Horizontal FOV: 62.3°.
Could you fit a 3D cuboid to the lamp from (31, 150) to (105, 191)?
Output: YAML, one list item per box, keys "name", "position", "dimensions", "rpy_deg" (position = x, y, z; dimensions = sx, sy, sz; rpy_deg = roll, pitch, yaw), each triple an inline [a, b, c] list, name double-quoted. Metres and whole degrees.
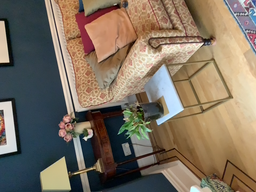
- name: "lamp"
  position: [-0.590, 0.760, 2.060]
  dimensions: [0.330, 0.600, 0.310]
  rpy_deg: [-39, 62, 61]

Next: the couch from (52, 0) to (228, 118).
- name: "couch"
  position: [-0.160, -0.940, 2.020]
  dimensions: [1.040, 0.880, 1.930]
  rpy_deg: [-50, 53, 57]

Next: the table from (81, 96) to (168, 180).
- name: "table"
  position: [-0.060, 0.450, 2.410]
  dimensions: [0.340, 0.740, 0.750]
  rpy_deg: [-47, 55, 58]

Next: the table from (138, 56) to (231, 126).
- name: "table"
  position: [0.400, -0.040, 1.600]
  dimensions: [0.370, 0.460, 0.360]
  rpy_deg: [-48, 54, 58]
